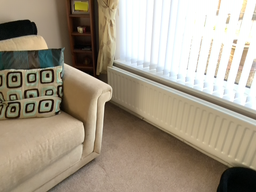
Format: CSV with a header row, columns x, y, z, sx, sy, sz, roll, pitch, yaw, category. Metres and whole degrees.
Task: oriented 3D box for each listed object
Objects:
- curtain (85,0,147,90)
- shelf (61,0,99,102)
x,y,z,sx,sy,sz,roll,pitch,yaw,category
-0.130,-1.030,1.810,0.680,1.900,0.130,27,38,37,curtain
-0.490,-0.810,2.160,0.270,1.890,0.240,1,30,-1,shelf
